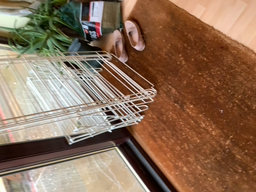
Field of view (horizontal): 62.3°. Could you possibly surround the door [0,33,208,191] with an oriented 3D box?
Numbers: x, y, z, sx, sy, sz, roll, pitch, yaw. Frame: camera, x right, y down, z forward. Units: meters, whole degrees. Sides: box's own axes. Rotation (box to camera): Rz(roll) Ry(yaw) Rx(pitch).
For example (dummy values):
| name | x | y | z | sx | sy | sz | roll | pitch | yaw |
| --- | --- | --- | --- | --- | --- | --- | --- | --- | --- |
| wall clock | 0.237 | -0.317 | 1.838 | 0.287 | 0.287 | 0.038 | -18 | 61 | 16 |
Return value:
| name | x | y | z | sx | sy | sz | roll | pitch | yaw |
| --- | --- | --- | --- | --- | --- | --- | --- | --- | --- |
| door | -0.550 | 0.240 | 0.790 | 2.150 | 2.110 | 0.100 | 47 | 117 | 30 |
